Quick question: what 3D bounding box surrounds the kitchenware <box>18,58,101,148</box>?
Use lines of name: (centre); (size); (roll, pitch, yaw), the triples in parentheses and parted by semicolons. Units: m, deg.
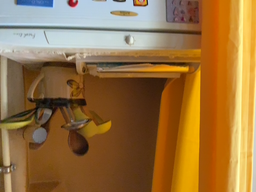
kitchenware: (-0.250, 0.020, 0.830); (0.250, 0.270, 0.340); (0, -179, -14)
